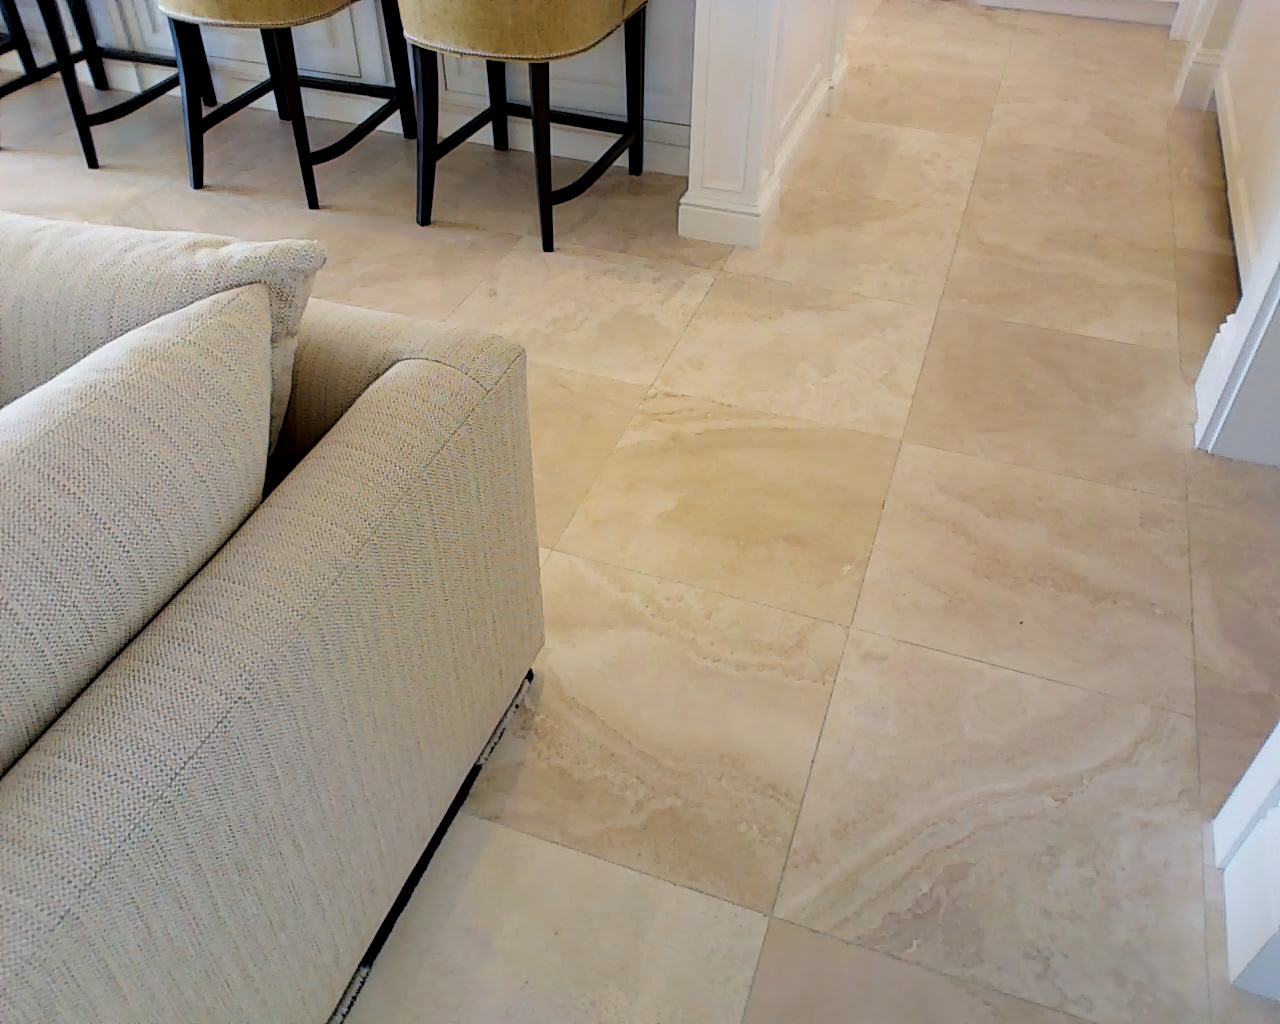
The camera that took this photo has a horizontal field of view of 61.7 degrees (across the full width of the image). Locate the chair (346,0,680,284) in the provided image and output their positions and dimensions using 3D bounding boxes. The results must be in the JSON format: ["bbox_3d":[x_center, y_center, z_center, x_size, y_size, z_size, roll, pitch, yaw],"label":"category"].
[{"bbox_3d":[-0.320,-1.350,3.030,0.670,1.070,0.720,14,43,15],"label":"chair"}]
